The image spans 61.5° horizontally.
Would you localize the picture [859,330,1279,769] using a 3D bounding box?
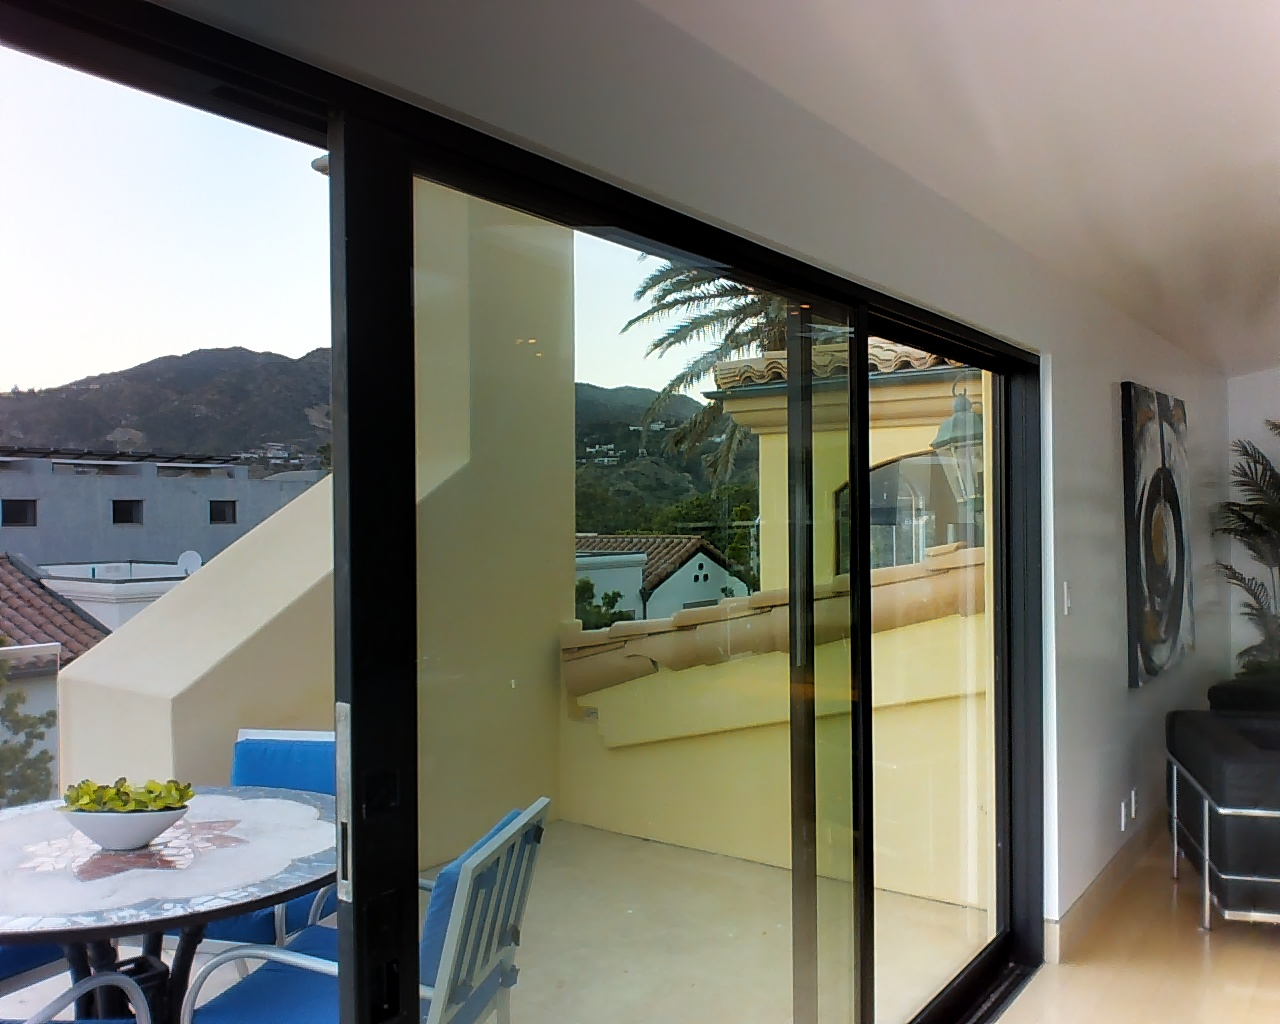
[{"bbox_3d":[1.409,0.120,3.710,1.360,1.341,0.070,-1,0,36],"label":"picture"}]
